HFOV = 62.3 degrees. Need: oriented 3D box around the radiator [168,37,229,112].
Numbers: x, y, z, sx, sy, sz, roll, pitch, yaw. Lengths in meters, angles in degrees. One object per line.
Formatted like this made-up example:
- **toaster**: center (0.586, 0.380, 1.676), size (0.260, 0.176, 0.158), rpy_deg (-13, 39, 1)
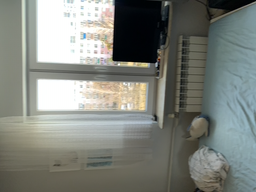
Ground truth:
- **radiator**: center (0.770, -0.220, 2.350), size (0.110, 0.570, 0.800), rpy_deg (-135, 47, -74)
